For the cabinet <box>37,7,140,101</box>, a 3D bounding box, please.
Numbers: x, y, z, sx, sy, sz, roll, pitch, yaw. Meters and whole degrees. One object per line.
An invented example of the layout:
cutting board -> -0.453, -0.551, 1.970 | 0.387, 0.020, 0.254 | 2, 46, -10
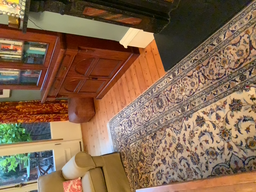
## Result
cabinet -> -0.570, -0.400, 2.640 | 1.190, 0.860, 0.460 | -42, 55, 51
